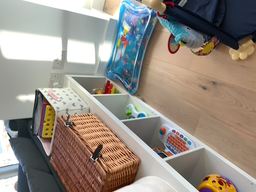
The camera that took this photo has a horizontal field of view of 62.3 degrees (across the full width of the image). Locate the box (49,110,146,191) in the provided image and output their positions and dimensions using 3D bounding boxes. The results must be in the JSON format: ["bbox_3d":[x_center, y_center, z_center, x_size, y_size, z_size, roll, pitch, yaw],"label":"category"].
[{"bbox_3d":[-0.210,0.380,1.170,0.550,0.220,0.380,34,117,43],"label":"box"}]
